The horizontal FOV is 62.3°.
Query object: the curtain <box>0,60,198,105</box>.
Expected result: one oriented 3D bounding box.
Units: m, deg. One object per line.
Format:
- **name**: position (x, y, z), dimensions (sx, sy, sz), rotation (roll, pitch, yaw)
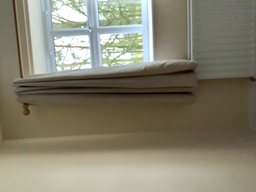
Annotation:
- **curtain**: position (-0.210, -0.110, 1.670), dimensions (0.220, 1.440, 0.260), rotation (-88, -5, -82)
